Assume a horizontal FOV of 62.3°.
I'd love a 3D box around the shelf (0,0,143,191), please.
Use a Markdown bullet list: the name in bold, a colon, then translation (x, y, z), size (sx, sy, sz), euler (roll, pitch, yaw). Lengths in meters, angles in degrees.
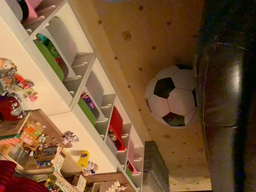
- **shelf**: translation (-0.450, -0.090, 1.200), size (0.440, 0.540, 1.990), euler (-12, 130, 19)
